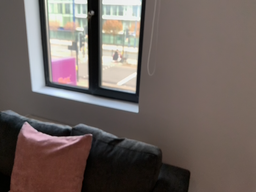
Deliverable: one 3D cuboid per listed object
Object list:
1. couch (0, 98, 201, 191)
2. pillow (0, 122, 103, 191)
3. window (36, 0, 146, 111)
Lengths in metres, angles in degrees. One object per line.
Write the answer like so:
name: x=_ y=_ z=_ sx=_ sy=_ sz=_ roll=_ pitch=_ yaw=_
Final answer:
couch: x=-0.530 y=0.700 z=1.360 sx=1.720 sy=0.830 sz=1.000 roll=10 pitch=21 yaw=19
pillow: x=-0.540 y=0.450 z=1.380 sx=0.610 sy=0.510 sz=0.230 roll=1 pitch=36 yaw=16
window: x=-0.370 y=-0.670 z=1.900 sx=1.050 sy=1.490 sz=0.090 roll=10 pitch=21 yaw=20
